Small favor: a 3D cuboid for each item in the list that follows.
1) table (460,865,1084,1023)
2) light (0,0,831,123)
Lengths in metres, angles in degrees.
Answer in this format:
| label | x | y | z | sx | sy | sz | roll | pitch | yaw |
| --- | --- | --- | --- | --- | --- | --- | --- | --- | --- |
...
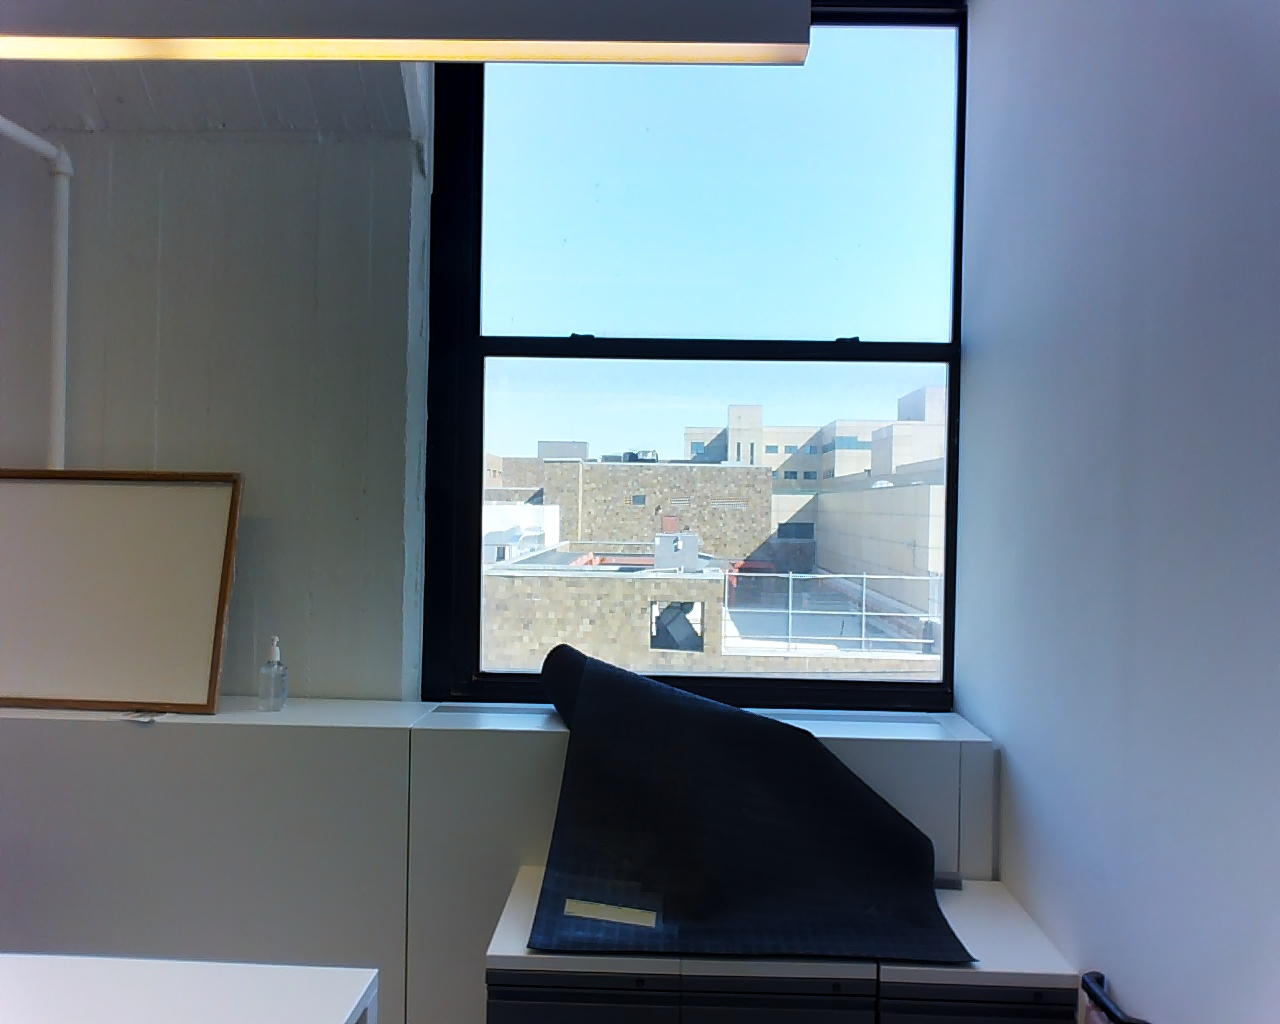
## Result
| label | x | y | z | sx | sy | sz | roll | pitch | yaw |
| --- | --- | --- | --- | --- | --- | --- | --- | --- | --- |
| table | 0.240 | 1.140 | 2.240 | 1.140 | 0.590 | 0.550 | 1 | 0 | 2 |
| light | -0.920 | -0.870 | 2.010 | 2.499 | 0.140 | 0.310 | 1 | 0 | 1 |
